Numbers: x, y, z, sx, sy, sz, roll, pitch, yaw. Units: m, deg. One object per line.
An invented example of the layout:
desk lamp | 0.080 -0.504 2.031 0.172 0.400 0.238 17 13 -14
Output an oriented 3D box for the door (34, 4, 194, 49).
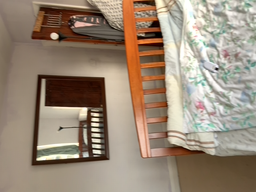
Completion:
door | -0.150 -0.930 2.820 0.050 1.940 0.770 104 161 -44

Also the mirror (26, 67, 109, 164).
mirror | -0.870 0.230 3.200 0.060 1.100 1.440 120 148 -64
